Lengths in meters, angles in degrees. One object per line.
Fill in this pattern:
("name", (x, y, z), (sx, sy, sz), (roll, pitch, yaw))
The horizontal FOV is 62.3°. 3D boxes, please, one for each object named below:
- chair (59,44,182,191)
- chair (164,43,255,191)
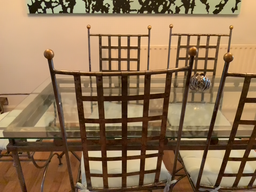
("chair", (-0.040, 0.280, 1.120), (0.410, 1.020, 0.460), (-1, 23, -3))
("chair", (0.490, 0.270, 1.140), (0.420, 1.020, 0.470), (-1, 23, -3))
